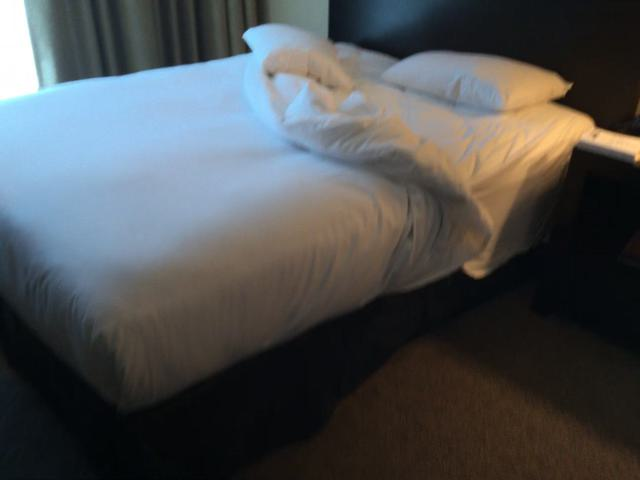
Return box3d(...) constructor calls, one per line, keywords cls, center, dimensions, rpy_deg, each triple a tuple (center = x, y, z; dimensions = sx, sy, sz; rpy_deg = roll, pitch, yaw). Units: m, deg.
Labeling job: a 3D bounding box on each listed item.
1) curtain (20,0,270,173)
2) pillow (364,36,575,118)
box3d(cls="curtain", center=(-0.920, -1.480, 3.120), dimensions=(1.270, 1.950, 0.400), rpy_deg=(-22, 36, -37))
box3d(cls="pillow", center=(0.580, -0.680, 2.330), dimensions=(0.430, 0.150, 0.690), rpy_deg=(-22, 36, -37))
